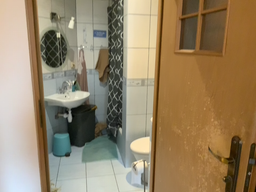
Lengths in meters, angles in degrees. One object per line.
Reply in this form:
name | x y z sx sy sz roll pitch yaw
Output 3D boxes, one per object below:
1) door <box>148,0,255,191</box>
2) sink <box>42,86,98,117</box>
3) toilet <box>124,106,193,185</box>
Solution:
door | 0.310 0.270 1.060 0.150 1.990 0.750 -1 13 -12
sink | -0.800 0.050 3.030 0.430 0.250 0.670 8 15 25
toilet | 0.320 0.540 2.440 0.650 0.770 0.370 -1 13 -11
